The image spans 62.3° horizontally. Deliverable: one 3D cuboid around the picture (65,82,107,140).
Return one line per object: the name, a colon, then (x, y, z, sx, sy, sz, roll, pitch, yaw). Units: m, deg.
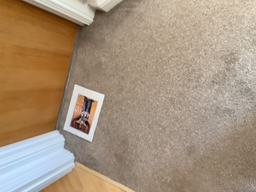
picture: (-0.260, 0.090, 1.290, 0.210, 0.020, 0.300, 20, 100, 18)
